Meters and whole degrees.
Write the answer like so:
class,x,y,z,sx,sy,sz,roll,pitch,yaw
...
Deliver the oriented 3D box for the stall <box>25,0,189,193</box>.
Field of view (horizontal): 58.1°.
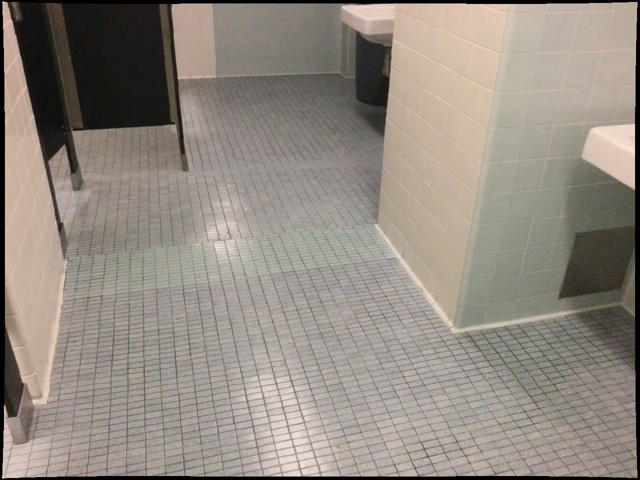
class,x,y,z,sx,sy,sz,roll,pitch,yaw
stall,-1.087,-0.852,3.040,0.638,1.122,0.290,-8,31,-14
